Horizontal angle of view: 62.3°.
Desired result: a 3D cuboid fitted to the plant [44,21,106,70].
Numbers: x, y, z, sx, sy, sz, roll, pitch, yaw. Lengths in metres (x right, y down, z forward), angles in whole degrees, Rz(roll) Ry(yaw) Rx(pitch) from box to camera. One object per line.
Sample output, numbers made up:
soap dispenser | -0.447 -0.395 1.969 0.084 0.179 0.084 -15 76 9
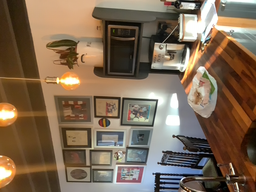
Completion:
plant | -0.510 -0.510 2.160 0.210 0.550 0.400 -93 6 -52
